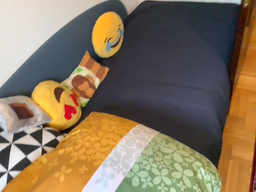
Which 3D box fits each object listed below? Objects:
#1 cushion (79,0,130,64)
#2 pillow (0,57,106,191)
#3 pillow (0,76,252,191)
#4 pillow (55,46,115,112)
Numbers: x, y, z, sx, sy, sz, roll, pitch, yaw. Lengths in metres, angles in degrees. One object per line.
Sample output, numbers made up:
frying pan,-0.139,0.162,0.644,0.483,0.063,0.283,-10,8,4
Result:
cushion,-0.150,-0.480,1.580,0.160,0.300,0.370,10,53,22
pillow,-0.440,0.190,1.010,0.320,0.430,0.590,14,54,25
pillow,0.000,0.290,0.760,0.640,0.310,0.540,17,55,27
pillow,-0.260,-0.120,1.390,0.150,0.210,0.380,12,53,24
